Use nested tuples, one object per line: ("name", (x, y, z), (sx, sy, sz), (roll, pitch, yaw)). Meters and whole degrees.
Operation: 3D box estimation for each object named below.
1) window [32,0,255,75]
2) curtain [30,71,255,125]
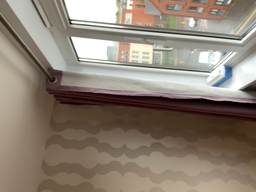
("window", (0.170, -0.430, 1.320), (1.200, 1.360, 0.080), (105, 170, -76))
("curtain", (0.410, 0.060, 1.800), (0.490, 2.240, 0.160), (103, 172, -74))
